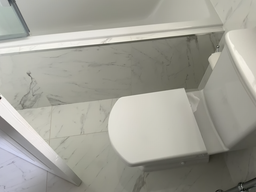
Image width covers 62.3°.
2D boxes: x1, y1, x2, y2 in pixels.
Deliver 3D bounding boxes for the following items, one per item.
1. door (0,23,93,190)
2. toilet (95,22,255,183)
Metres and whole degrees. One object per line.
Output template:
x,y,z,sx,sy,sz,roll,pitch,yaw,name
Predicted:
-0.630,-0.110,0.580,0.820,1.990,0.110,18,60,11,door
0.240,0.110,1.070,0.690,0.790,0.400,-6,58,-4,toilet
